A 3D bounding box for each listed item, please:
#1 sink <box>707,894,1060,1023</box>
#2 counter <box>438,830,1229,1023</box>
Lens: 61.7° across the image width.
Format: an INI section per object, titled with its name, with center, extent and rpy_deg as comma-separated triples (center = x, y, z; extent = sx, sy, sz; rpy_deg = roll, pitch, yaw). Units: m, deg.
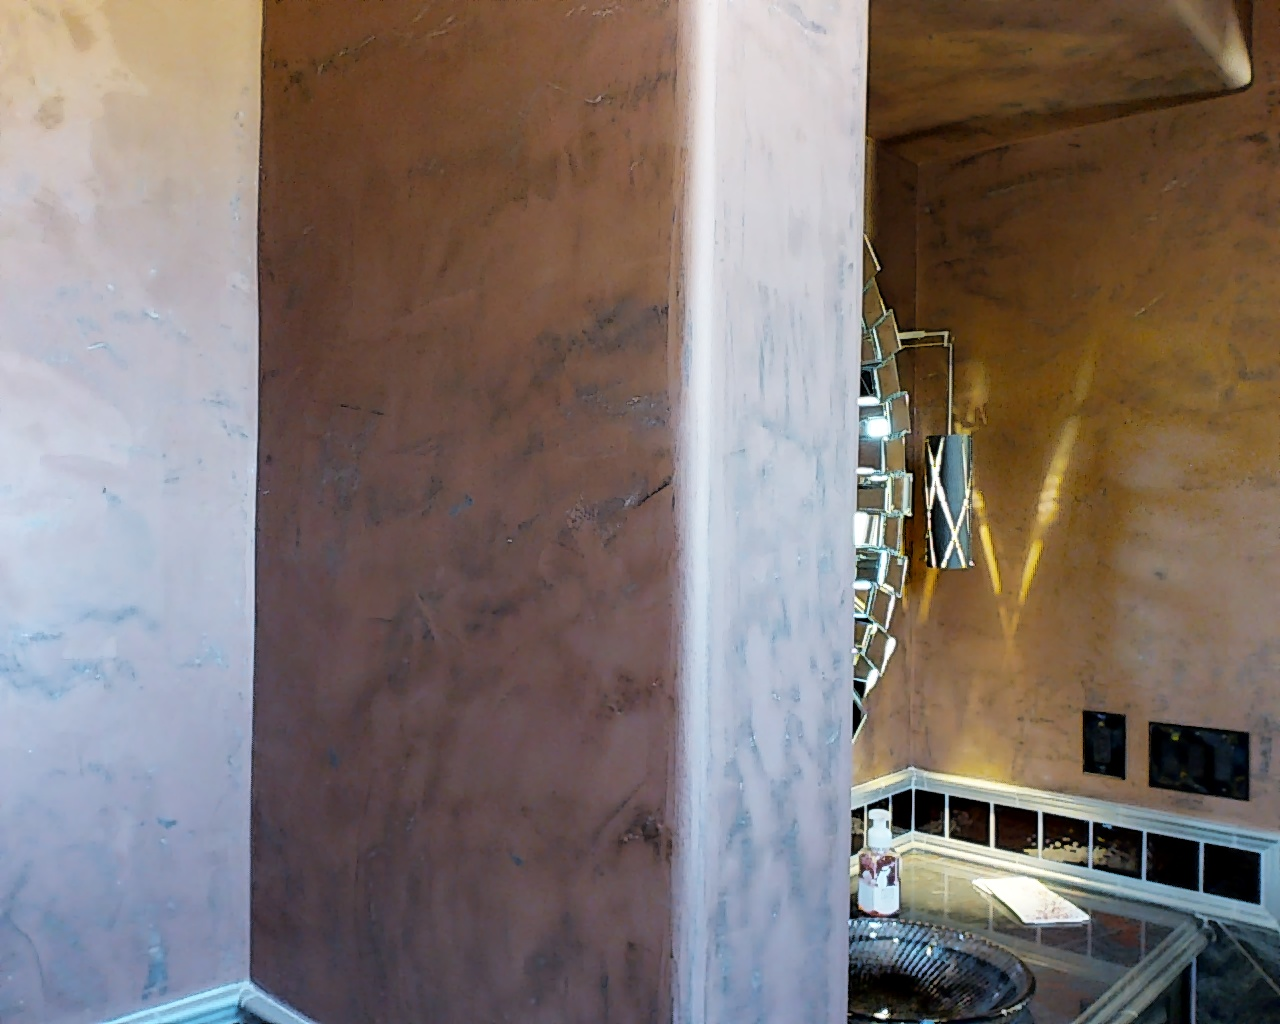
[sink]
center = 0.380, 0.750, 1.660
extent = 0.390, 0.120, 0.390
rpy_deg = 1, 0, 42
[counter]
center = 0.390, 0.710, 1.670
extent = 0.640, 0.030, 1.300
rpy_deg = 1, 0, 42
